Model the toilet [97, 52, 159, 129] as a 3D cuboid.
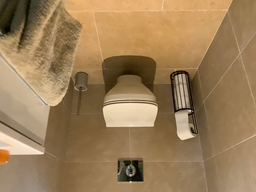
[{"bbox_3d":[0.000,-0.010,1.600,0.370,0.380,0.540,0,155,0],"label":"toilet"}]
